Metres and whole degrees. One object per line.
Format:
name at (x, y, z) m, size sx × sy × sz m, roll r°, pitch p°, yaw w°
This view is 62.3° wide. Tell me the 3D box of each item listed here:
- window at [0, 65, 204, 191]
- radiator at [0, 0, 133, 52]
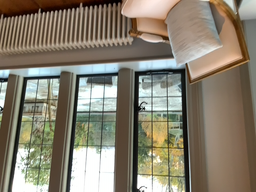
window at (-0.690, 0.570, 2.390) m, size 2.900 × 1.810 × 0.100 m, roll 0°, pitch 167°, yaw 10°
radiator at (-0.760, -0.730, 2.280) m, size 1.620 × 0.430 × 0.110 m, roll -1°, pitch 167°, yaw 11°
